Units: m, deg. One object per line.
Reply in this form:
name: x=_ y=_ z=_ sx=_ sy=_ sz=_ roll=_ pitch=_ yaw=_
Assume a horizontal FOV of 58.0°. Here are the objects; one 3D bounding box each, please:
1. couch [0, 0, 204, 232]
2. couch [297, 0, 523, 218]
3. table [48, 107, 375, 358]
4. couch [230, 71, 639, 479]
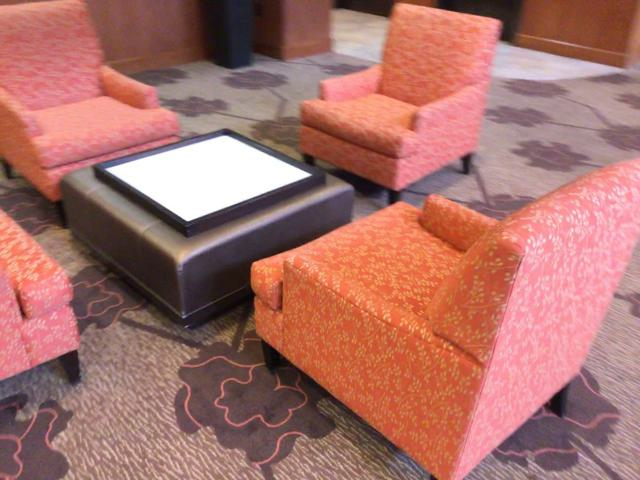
couch: x=-1.200 y=-0.740 z=2.960 sx=0.900 sy=0.910 sz=0.780 roll=30 pitch=40 yaw=34
couch: x=0.460 y=-0.790 z=3.170 sx=0.740 sy=0.900 sz=0.850 roll=30 pitch=40 yaw=34
table: x=-0.450 y=-0.130 z=2.490 sx=0.930 sy=0.460 sz=0.950 roll=30 pitch=40 yaw=34
couch: x=0.320 y=0.100 z=1.740 sx=0.890 sy=0.880 sz=0.770 roll=30 pitch=40 yaw=34
